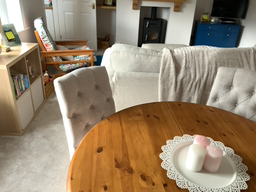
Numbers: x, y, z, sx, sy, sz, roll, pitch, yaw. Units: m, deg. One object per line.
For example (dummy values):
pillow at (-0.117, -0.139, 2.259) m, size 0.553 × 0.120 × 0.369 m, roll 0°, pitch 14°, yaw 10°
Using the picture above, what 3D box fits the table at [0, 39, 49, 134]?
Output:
table at (-1.270, -0.140, 2.330) m, size 0.450 × 0.760 × 0.780 m, roll 3°, pitch 28°, yaw -2°

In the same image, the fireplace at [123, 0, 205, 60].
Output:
fireplace at (0.710, -1.610, 4.850) m, size 1.540 × 1.220 × 0.970 m, roll 4°, pitch 28°, yaw 1°
